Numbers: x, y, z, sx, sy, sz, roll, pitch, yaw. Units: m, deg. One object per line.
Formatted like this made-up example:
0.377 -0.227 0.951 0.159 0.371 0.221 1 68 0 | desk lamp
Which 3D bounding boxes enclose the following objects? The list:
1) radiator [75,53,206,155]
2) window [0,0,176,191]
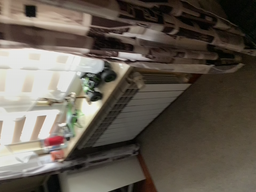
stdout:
0.050 0.110 1.660 0.970 0.630 0.160 -54 51 40 | radiator
-1.020 0.210 0.910 1.890 1.820 0.220 -54 51 40 | window
